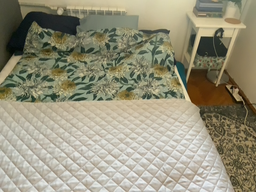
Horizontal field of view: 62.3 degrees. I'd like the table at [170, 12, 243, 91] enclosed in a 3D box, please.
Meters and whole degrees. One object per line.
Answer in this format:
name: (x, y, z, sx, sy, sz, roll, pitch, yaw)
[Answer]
table: (0.760, -0.450, 2.210, 0.460, 0.700, 0.360, 1, 39, -2)
